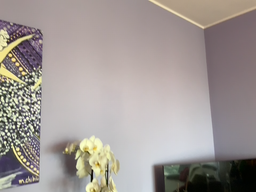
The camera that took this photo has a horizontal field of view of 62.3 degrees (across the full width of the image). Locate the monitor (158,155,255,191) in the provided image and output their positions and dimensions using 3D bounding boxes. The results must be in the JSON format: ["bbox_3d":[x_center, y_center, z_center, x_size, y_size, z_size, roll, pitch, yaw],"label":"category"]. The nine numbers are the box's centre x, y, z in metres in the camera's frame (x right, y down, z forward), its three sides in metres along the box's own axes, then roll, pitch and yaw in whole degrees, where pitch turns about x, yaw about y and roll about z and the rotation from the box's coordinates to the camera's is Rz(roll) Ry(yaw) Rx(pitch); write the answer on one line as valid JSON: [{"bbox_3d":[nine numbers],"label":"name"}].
[{"bbox_3d":[0.780,0.810,1.650,1.080,0.630,0.100,0,-8,-12],"label":"monitor"}]
